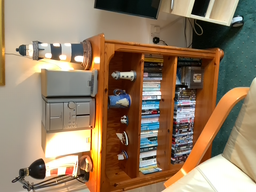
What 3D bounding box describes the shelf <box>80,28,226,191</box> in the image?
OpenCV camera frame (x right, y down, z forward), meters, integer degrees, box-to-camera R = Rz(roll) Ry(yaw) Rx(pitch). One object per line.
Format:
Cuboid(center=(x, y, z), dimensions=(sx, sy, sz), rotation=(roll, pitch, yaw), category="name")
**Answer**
Cuboid(center=(0.180, 0.090, 1.490), dimensions=(0.360, 0.940, 0.930), rotation=(15, 105, 60), category="shelf")
